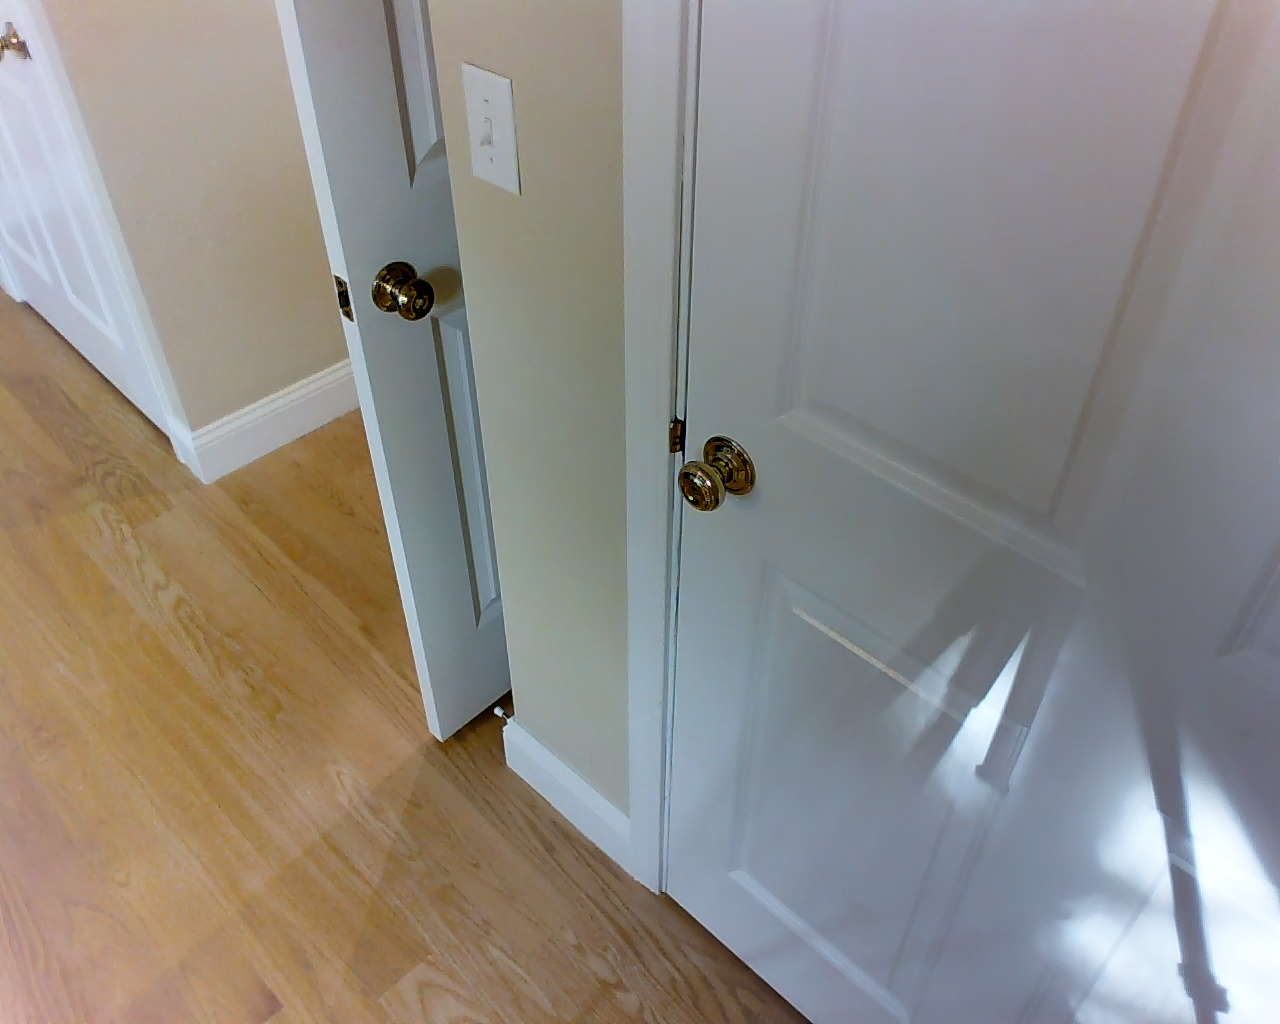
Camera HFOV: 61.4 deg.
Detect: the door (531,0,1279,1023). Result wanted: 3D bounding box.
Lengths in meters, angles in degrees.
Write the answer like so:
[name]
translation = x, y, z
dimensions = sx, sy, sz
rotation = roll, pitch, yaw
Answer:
[door]
translation = 0.350, 0.020, 0.770
dimensions = 1.170, 2.160, 0.070
rotation = 34, 52, 31
